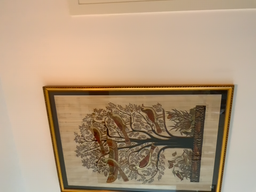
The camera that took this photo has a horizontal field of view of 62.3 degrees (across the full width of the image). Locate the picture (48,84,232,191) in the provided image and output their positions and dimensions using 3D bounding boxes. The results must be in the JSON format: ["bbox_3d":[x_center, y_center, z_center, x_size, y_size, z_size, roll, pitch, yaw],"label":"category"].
[{"bbox_3d":[0.050,0.280,1.200,0.040,0.920,0.710,-73,-17,-68],"label":"picture"}]
